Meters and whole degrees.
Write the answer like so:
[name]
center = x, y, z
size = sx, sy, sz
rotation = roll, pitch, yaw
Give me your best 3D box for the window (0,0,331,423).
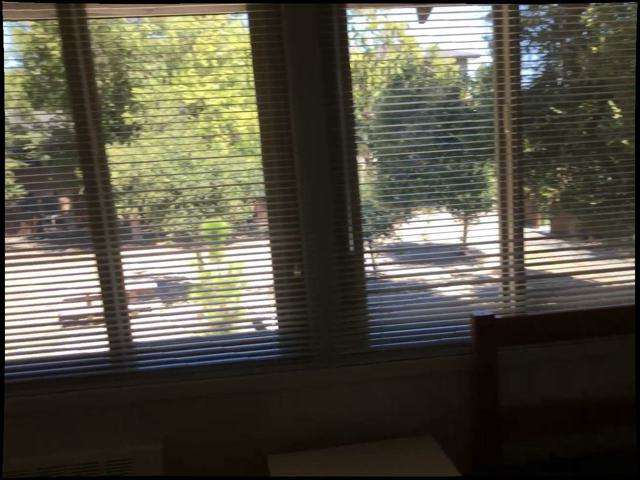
[window]
center = -0.628, -0.110, 1.660
size = 1.217, 1.173, 0.250
rotation = -5, 13, -5
